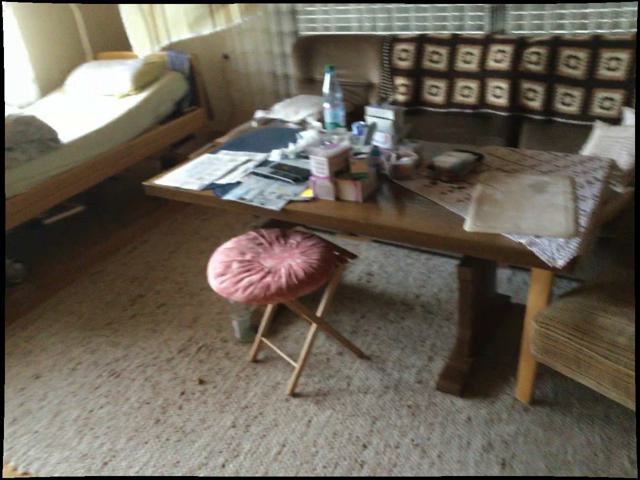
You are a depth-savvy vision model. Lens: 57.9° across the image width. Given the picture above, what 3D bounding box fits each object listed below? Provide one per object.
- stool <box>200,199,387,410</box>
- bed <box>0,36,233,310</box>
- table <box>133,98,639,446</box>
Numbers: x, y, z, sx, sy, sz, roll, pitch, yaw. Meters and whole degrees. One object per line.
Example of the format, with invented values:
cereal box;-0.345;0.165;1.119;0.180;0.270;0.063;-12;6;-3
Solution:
stool;-0.080;0.200;2.050;0.450;0.460;0.440;-26;36;-33
bed;-1.618;-0.480;3.220;1.089;0.821;2.190;11;33;26
table;0.240;-0.020;2.210;1.589;0.721;0.800;11;33;26
